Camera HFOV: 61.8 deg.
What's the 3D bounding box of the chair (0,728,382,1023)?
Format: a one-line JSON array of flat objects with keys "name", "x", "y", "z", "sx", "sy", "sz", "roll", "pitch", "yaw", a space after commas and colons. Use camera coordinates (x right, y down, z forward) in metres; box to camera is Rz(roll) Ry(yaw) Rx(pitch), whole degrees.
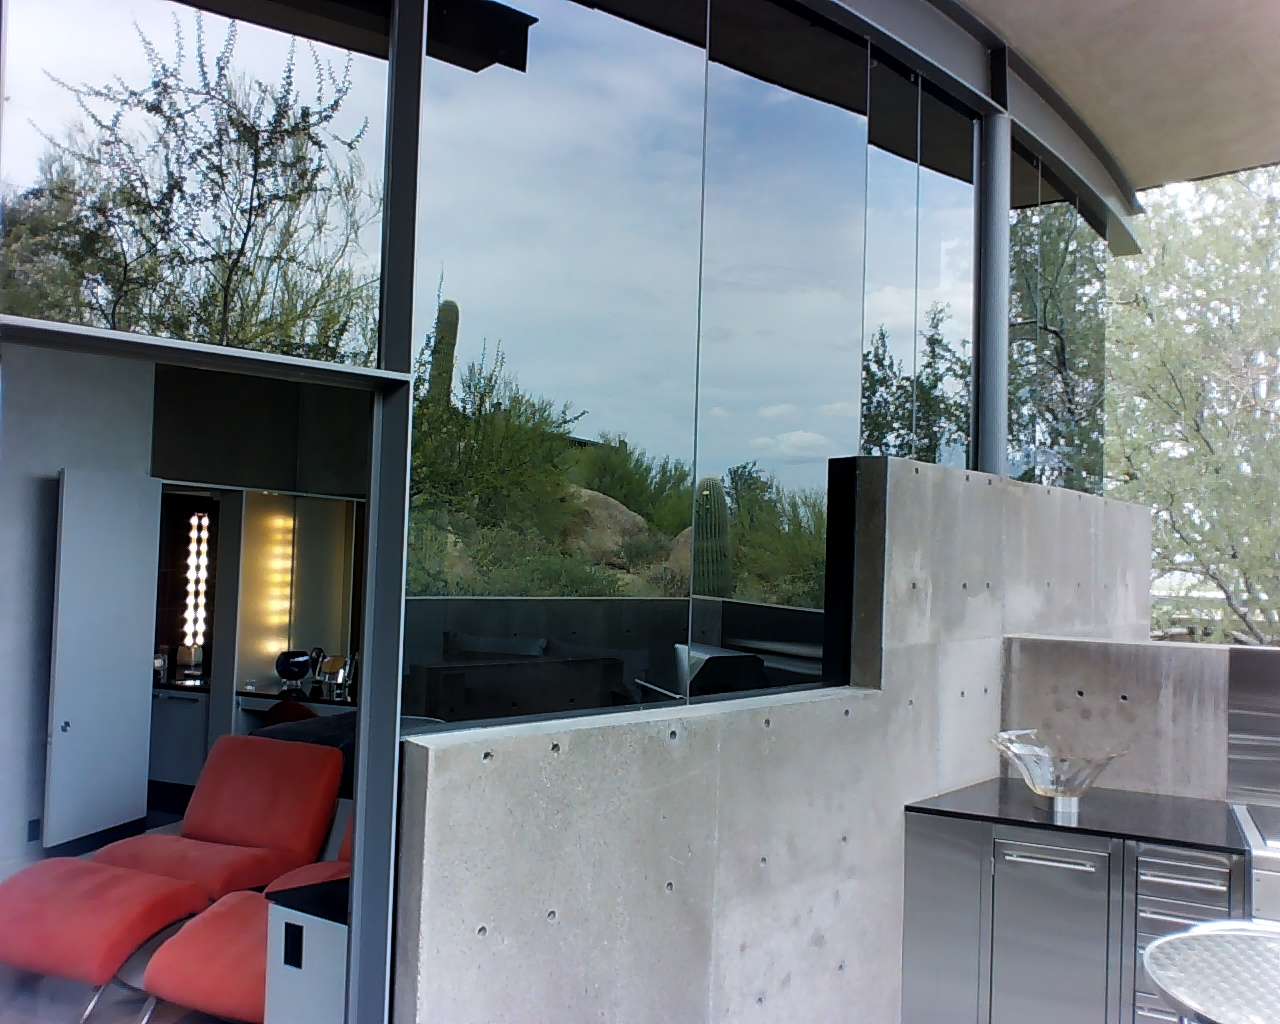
[{"name": "chair", "x": -1.900, "y": 1.460, "z": 4.600, "sx": 0.820, "sy": 0.810, "sz": 1.510, "roll": -1, "pitch": -4, "yaw": 21}]
